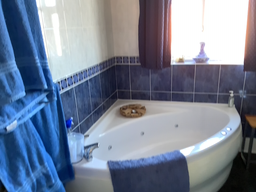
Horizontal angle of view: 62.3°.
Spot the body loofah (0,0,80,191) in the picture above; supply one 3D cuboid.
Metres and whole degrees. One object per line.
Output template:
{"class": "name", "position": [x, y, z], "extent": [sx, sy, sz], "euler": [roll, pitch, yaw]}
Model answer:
{"class": "body loofah", "position": [-0.510, -0.050, 1.010], "extent": [0.170, 1.270, 0.520], "euler": [4, 19, 18]}

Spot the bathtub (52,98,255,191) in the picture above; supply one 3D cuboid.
{"class": "bathtub", "position": [0.360, 0.560, 1.980], "extent": [1.420, 0.590, 1.390], "euler": [3, 19, 15]}
